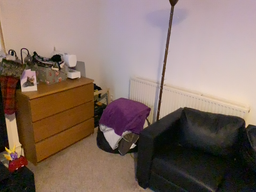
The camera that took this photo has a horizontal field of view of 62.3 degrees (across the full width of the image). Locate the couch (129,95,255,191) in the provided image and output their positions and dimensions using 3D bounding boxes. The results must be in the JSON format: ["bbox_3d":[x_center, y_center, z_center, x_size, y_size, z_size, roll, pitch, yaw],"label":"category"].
[{"bbox_3d":[1.070,0.690,1.630,2.030,0.710,0.800,20,26,35],"label":"couch"}]

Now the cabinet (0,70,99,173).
[{"bbox_3d":[-0.860,0.210,2.440,0.550,0.780,0.890,19,25,34],"label":"cabinet"}]
